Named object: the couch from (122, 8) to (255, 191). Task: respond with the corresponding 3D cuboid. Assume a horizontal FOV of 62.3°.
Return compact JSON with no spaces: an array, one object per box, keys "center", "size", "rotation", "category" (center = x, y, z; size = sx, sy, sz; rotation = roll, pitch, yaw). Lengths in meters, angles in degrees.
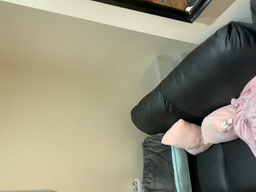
[{"center":[0.650,0.310,1.650],"size":[1.500,0.900,0.850],"rotation":[131,141,-57],"category":"couch"}]
